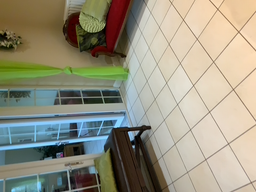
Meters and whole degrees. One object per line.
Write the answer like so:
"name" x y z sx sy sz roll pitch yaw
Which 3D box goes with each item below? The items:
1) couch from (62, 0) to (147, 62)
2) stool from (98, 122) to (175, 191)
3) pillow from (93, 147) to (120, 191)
"couch" -0.330 -1.370 2.890 1.690 0.860 0.750 117 142 -45
"stool" 0.090 0.960 2.450 0.520 0.530 1.190 118 142 -45
"pillow" -0.260 0.900 2.440 0.340 0.120 0.500 117 142 -45
